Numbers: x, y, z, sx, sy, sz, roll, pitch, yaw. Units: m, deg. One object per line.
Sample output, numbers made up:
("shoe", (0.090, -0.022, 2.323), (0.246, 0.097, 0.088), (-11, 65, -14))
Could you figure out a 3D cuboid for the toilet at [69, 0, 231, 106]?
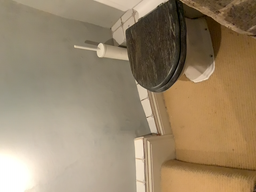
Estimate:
("toilet", (0.130, -0.330, 1.190), (0.410, 0.760, 0.700), (-20, 74, 47))
